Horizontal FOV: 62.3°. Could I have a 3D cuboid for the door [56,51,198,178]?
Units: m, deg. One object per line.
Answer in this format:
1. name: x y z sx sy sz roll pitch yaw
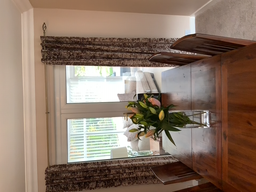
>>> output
1. door: 0.040 0.220 3.190 0.130 2.090 1.740 174 94 -78
